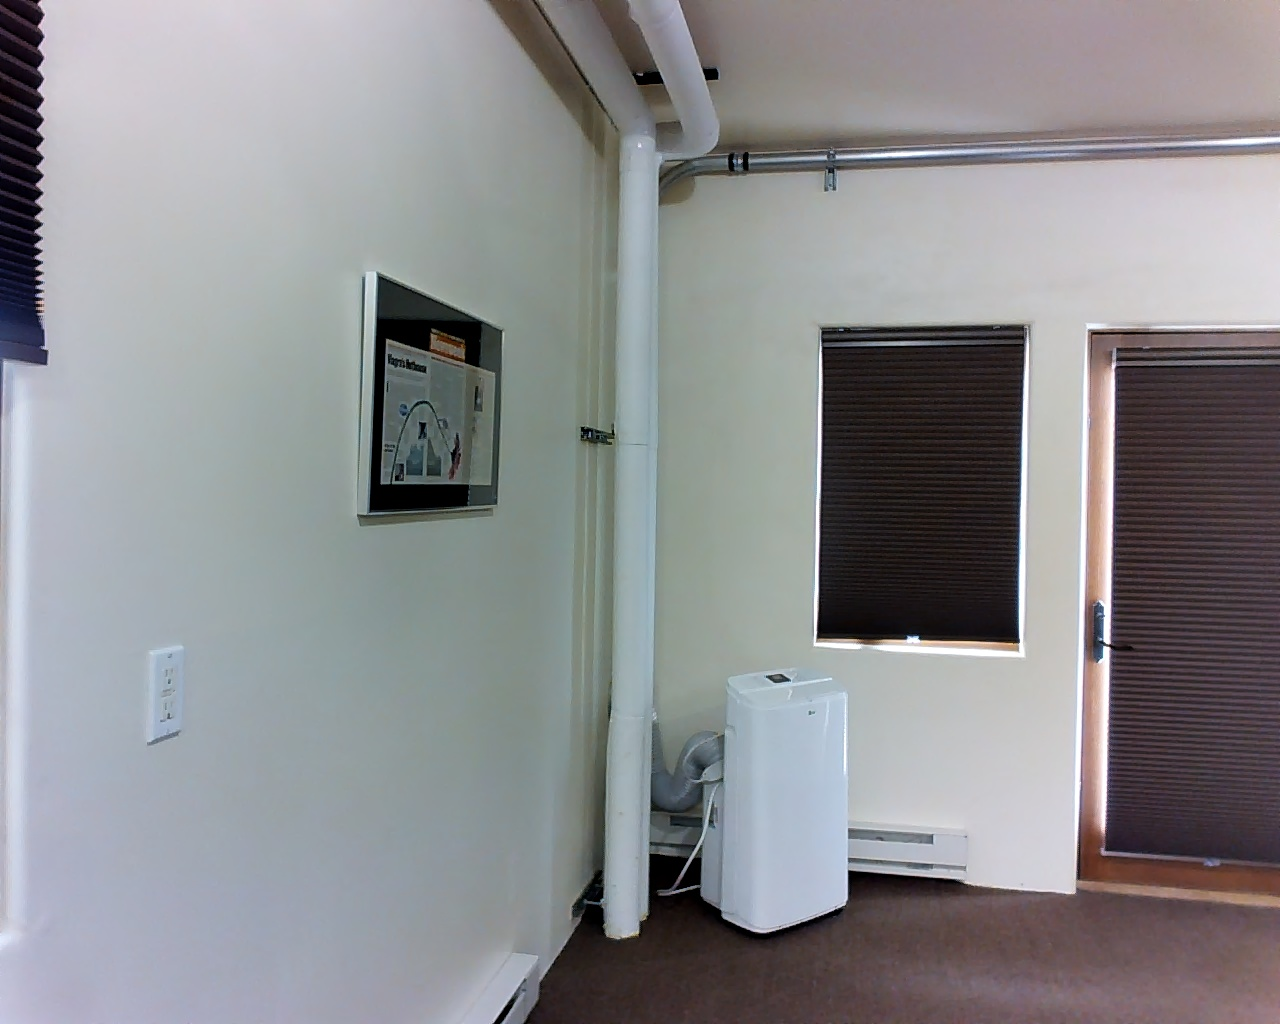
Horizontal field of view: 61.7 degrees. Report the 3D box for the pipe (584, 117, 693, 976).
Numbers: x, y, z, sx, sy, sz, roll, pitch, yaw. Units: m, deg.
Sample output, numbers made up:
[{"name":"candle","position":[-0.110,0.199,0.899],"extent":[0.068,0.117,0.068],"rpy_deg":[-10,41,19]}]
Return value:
[{"name":"pipe","position":[0.000,0.110,3.570],"extent":[0.260,2.721,0.310],"rpy_deg":[1,1,11]}]
